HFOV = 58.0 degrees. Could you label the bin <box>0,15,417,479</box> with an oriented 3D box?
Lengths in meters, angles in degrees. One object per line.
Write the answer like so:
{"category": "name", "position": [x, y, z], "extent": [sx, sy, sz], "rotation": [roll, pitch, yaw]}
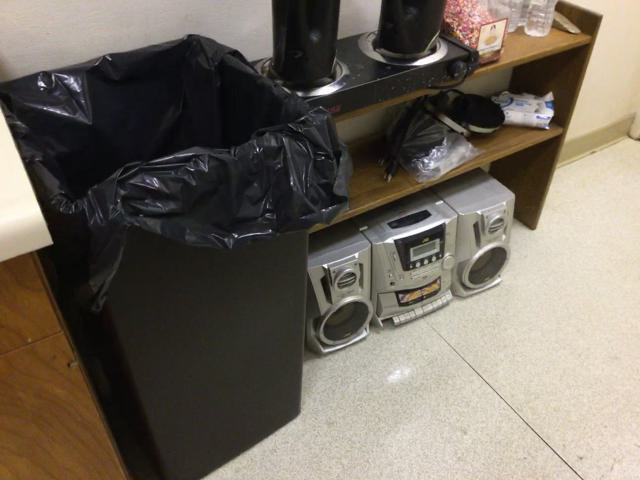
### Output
{"category": "bin", "position": [-0.220, 0.100, 1.140], "extent": [0.520, 0.820, 0.540], "rotation": [-22, 44, -22]}

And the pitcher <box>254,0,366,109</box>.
{"category": "pitcher", "position": [-0.020, -0.410, 1.040], "extent": [0.150, 0.280, 0.140], "rotation": [-22, 44, -22]}

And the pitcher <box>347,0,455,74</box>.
{"category": "pitcher", "position": [0.160, -0.500, 1.140], "extent": [0.160, 0.270, 0.140], "rotation": [-22, 44, -22]}
